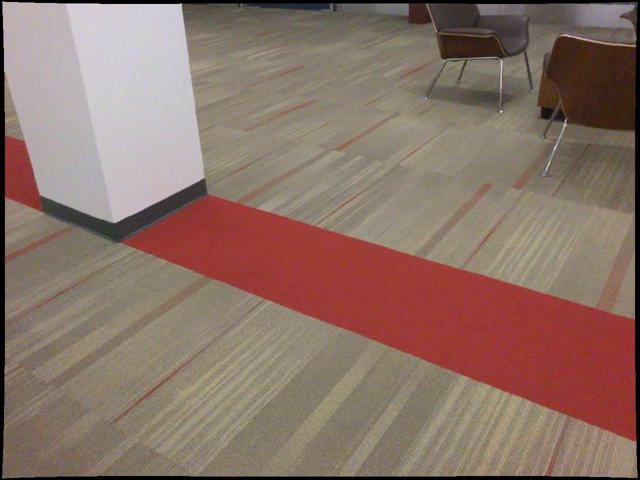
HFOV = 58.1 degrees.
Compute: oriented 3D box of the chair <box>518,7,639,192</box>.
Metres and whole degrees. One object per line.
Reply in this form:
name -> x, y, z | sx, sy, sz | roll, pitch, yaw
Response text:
chair -> 1.656, -0.802, 3.180 | 0.868, 0.771, 0.780 | 11, 33, 23
